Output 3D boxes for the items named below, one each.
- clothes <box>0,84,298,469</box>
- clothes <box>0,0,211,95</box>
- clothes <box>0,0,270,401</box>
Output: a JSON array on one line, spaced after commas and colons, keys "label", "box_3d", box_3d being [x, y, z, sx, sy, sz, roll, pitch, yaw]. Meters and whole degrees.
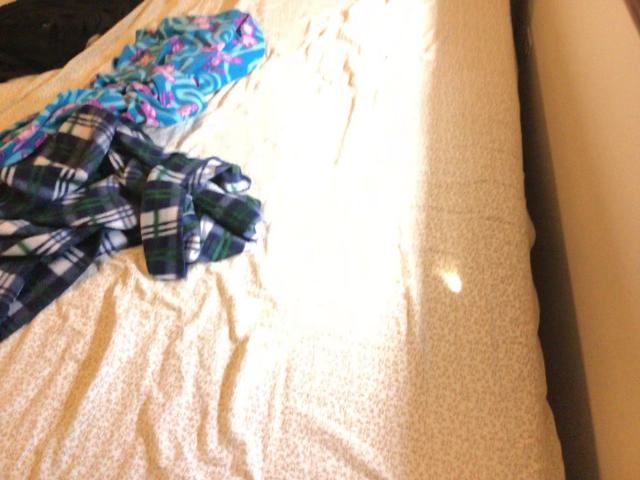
[{"label": "clothes", "box_3d": [-0.360, -0.010, 0.910, 0.550, 0.120, 0.630, 5, 46, 6]}, {"label": "clothes", "box_3d": [-0.630, -0.620, 1.490, 0.580, 0.160, 0.590, 5, 46, 6]}, {"label": "clothes", "box_3d": [-0.440, -0.220, 1.120, 0.480, 0.120, 1.050, 5, 46, 6]}]
